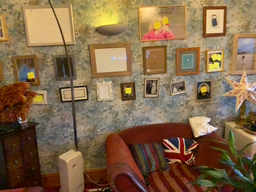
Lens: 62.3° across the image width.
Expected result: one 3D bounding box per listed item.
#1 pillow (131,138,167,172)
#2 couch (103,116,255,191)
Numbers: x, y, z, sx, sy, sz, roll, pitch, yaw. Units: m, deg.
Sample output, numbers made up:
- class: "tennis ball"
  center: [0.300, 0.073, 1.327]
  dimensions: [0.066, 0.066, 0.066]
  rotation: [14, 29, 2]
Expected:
- class: "pillow"
  center: [0.240, 0.690, 2.520]
  dimensions: [0.360, 0.070, 0.370]
  rotation: [-4, 48, -6]
- class: "couch"
  center: [0.460, 0.830, 2.500]
  dimensions: [1.400, 0.770, 1.070]
  rotation: [-5, 13, -9]
